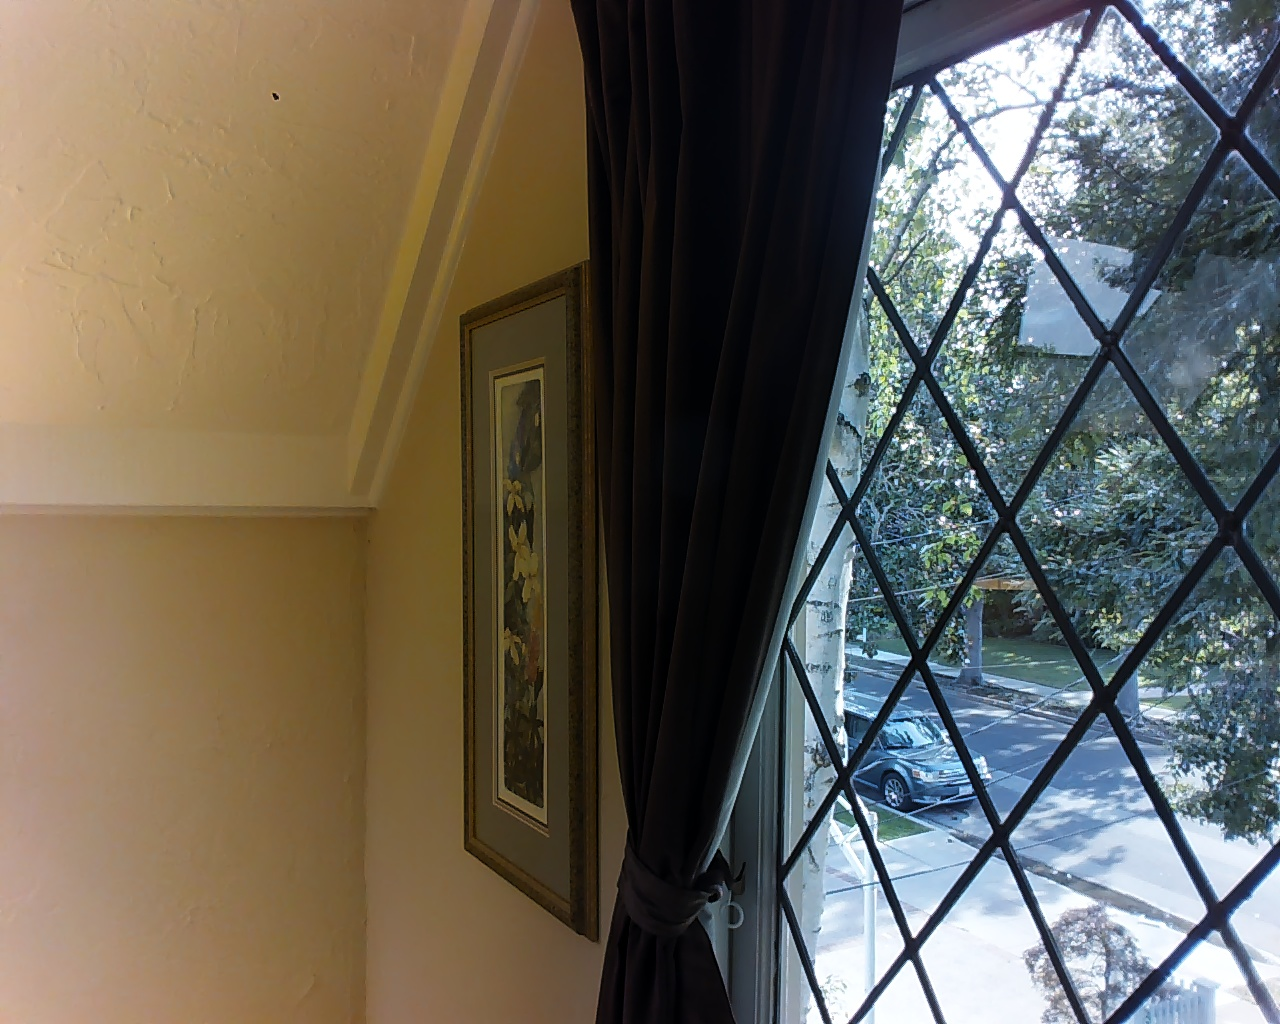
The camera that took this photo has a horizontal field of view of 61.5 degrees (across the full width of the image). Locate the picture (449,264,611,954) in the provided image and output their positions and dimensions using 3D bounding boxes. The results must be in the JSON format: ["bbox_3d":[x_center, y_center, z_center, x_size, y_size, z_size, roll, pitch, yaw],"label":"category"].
[{"bbox_3d":[-0.170,0.120,1.540,0.050,0.870,0.400,1,1,-31],"label":"picture"}]
